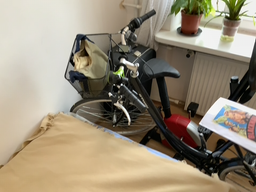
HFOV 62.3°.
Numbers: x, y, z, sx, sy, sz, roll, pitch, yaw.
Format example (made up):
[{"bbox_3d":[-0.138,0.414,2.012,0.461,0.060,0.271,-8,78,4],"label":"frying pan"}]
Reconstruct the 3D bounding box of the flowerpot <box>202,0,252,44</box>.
[{"bbox_3d":[0.710,-0.590,1.510,0.220,0.330,0.210,24,45,28],"label":"flowerpot"}]

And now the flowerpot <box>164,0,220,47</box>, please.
[{"bbox_3d":[0.500,-0.660,1.640,0.300,0.400,0.310,21,43,25],"label":"flowerpot"}]

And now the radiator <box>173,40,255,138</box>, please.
[{"bbox_3d":[0.830,-0.060,1.790,0.820,0.590,0.190,24,45,28],"label":"radiator"}]
